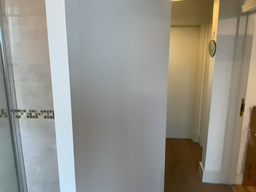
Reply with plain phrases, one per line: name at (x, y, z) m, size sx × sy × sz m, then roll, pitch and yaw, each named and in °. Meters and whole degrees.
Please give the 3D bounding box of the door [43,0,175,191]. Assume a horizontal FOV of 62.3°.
door at (0.030, 0.470, 0.870) m, size 0.050 × 1.950 × 0.770 m, roll 6°, pitch 14°, yaw 24°
